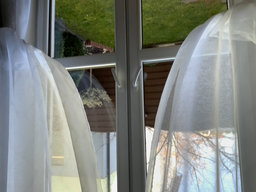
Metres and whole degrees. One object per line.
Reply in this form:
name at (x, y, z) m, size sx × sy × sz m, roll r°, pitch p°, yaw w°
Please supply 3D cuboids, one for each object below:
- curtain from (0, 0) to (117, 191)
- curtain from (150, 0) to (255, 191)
curtain at (-0.440, 0.090, 1.160) m, size 0.700 × 2.840 × 0.260 m, roll -3°, pitch 174°, yaw 13°
curtain at (0.440, 0.040, 0.920) m, size 0.610 × 2.800 × 0.280 m, roll -3°, pitch 173°, yaw 17°
